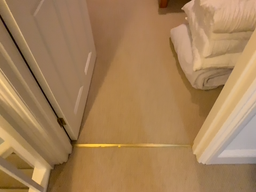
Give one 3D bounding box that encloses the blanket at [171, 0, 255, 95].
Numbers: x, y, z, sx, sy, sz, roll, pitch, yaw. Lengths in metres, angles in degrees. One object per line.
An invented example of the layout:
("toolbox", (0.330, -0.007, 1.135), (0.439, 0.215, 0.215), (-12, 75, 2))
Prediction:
("blanket", (0.690, -0.500, 1.570), (0.540, 0.590, 0.750), (-3, 55, -1))
